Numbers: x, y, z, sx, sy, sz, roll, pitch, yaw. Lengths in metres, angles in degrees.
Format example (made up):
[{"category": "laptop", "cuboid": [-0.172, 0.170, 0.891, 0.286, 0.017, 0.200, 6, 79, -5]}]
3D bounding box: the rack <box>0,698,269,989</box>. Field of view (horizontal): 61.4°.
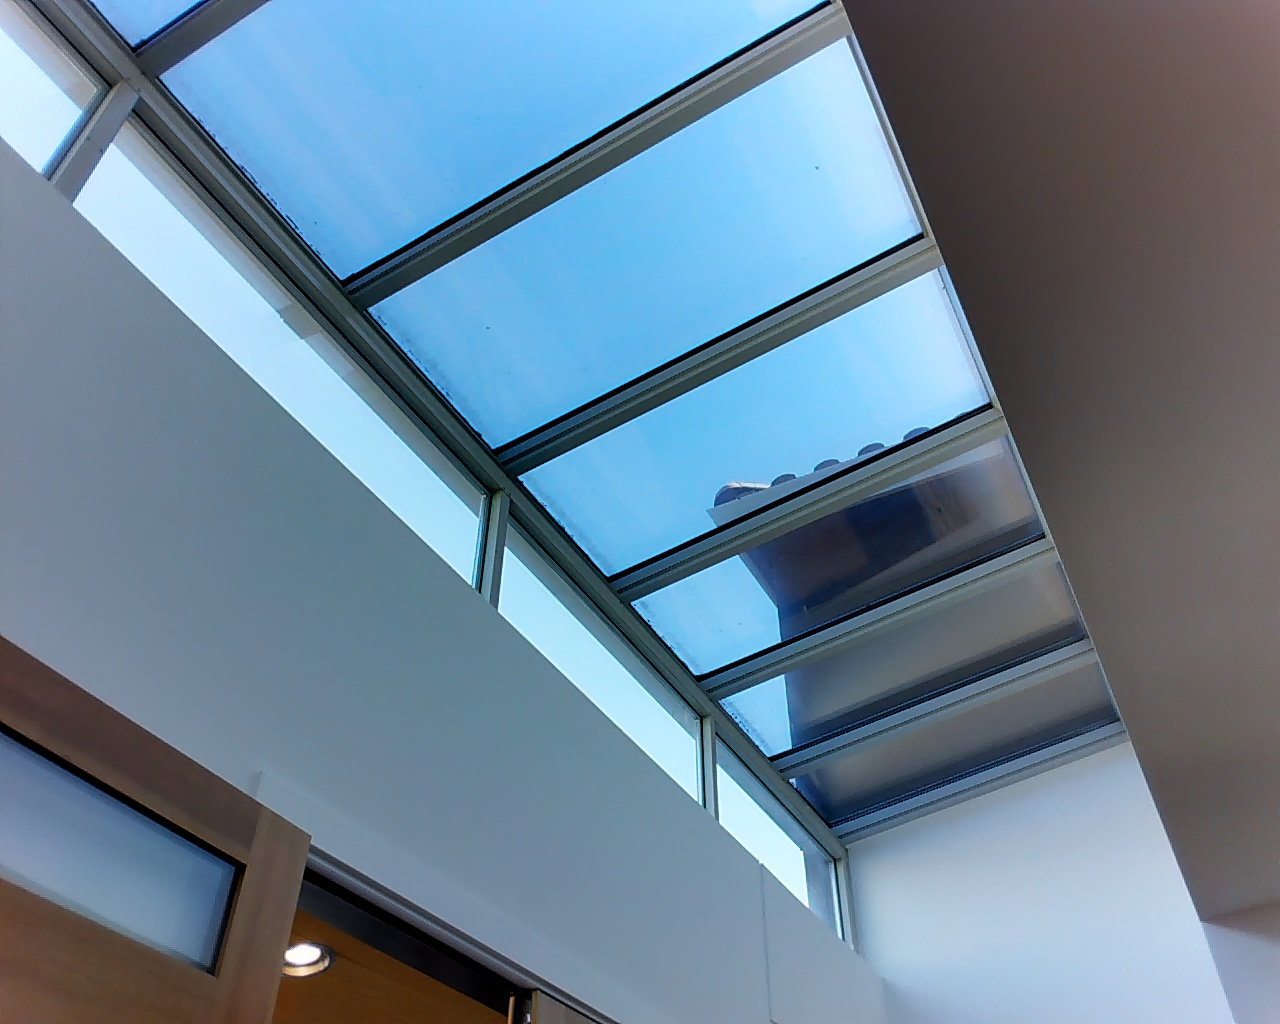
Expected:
[{"category": "rack", "cuboid": [-0.850, 0.490, 1.610, 0.110, 0.220, 0.650, -19, -46, 21]}]
